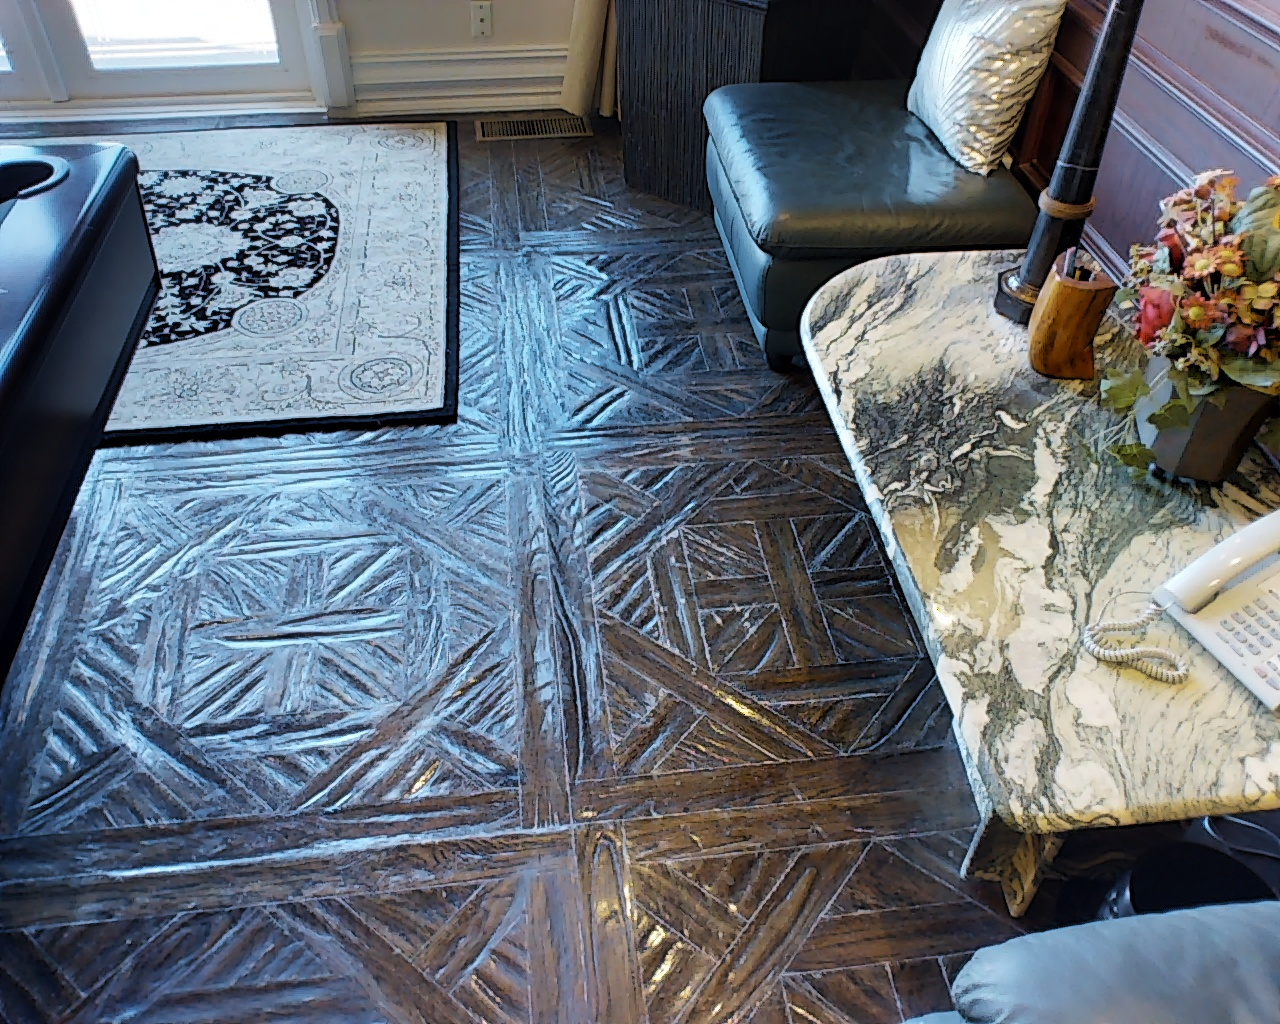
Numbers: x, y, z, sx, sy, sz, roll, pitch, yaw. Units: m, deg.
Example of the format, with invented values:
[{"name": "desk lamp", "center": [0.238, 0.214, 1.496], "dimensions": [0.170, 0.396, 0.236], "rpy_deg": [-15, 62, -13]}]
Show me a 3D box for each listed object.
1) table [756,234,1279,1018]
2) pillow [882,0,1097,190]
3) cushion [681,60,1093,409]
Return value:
[{"name": "table", "center": [0.670, -0.020, 1.580], "dimensions": [0.710, 0.100, 1.390], "rpy_deg": [-5, 42, -6]}, {"name": "pillow", "center": [0.760, -1.020, 2.400], "dimensions": [0.240, 0.400, 0.450], "rpy_deg": [-5, 42, -6]}, {"name": "cushion", "center": [0.520, -0.710, 2.600], "dimensions": [0.700, 0.450, 0.850], "rpy_deg": [-5, 42, -6]}]
